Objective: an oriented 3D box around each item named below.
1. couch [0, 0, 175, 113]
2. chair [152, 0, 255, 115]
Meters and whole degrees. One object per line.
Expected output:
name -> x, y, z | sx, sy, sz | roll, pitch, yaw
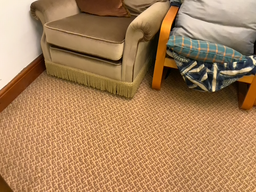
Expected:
couch -> -0.160, -0.590, 1.590 | 0.890, 0.810, 0.980 | 13, 43, 11
chair -> 0.630, -0.540, 1.500 | 0.670, 0.930, 0.790 | 13, 43, 11
